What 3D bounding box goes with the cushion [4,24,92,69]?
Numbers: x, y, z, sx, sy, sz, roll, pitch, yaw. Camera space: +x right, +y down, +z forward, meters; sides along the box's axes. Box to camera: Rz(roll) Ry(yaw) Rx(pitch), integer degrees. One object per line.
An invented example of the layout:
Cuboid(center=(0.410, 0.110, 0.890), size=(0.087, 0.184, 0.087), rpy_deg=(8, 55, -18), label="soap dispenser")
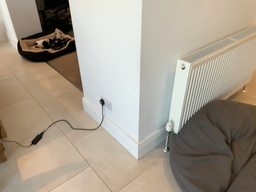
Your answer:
Cuboid(center=(-1.180, -0.800, 3.220), size=(1.050, 0.230, 0.630), rpy_deg=(-29, 45, -35), label="cushion")
